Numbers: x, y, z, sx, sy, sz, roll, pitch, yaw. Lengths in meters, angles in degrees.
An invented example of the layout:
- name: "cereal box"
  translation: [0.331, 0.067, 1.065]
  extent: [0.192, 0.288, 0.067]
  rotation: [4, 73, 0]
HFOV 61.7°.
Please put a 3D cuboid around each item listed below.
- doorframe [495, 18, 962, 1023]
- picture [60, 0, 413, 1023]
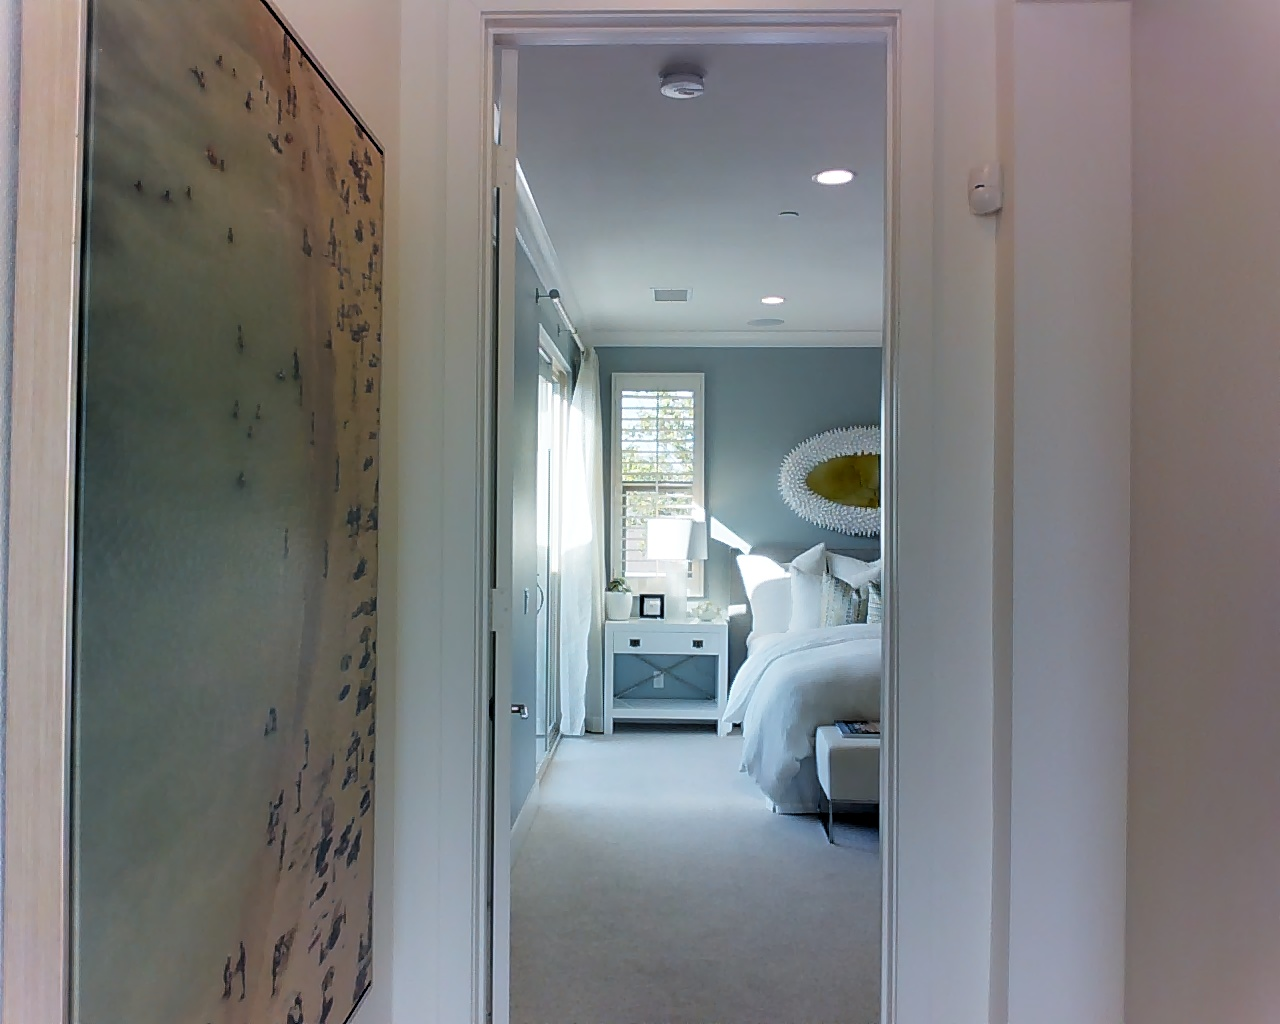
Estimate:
- name: "doorframe"
  translation: [0.170, 0.260, 2.150]
  extent: [0.900, 2.431, 0.150]
  rotation: [0, -1, 2]
- name: "picture"
  translation: [-0.420, 0.100, 1.320]
  extent: [0.050, 1.391, 0.940]
  rotation: [0, -1, 2]
